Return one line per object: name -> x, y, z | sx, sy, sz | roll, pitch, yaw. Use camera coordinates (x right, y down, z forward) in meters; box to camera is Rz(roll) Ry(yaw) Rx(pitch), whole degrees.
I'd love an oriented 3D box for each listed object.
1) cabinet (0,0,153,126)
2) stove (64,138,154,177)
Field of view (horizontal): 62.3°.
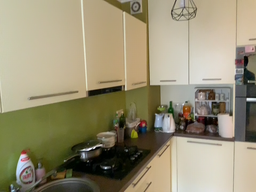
cabinet -> -0.560, -0.300, 1.210 | 0.330, 0.780, 3.150 | 2, 8, 26
stove -> -0.130, 0.490, 1.810 | 0.540, 0.040, 0.580 | 2, 8, 26
